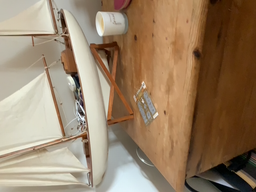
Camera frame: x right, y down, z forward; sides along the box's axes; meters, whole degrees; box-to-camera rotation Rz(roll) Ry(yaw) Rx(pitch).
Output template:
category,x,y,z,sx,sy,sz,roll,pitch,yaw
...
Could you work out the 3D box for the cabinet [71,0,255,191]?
category,x,y,z,sx,sy,sz,roll,pitch,yaw
cabinet,0.130,-0.320,0.650,0.600,0.470,0.990,40,135,54
